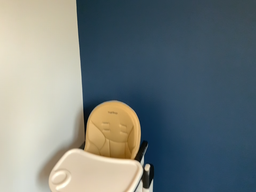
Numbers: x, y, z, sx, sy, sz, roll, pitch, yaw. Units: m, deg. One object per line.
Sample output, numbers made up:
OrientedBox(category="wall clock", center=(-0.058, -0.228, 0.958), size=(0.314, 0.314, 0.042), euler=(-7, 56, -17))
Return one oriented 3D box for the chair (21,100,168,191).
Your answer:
OrientedBox(category="chair", center=(-0.140, 0.690, 1.390), size=(0.610, 1.170, 0.650), euler=(4, 13, 26))
